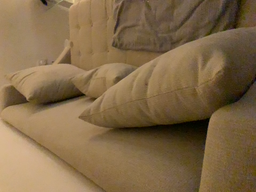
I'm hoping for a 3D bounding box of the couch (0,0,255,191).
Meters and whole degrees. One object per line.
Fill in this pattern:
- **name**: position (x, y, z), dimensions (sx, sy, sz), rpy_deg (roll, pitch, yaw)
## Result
- **couch**: position (-0.030, -0.250, 1.190), dimensions (1.790, 0.970, 0.910), rpy_deg (8, 97, 48)
